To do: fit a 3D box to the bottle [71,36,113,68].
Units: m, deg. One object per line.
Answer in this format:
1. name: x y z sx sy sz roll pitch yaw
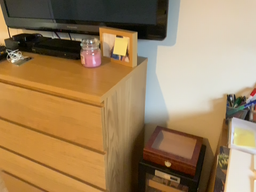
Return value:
1. bottle: -0.170 -0.220 1.030 0.120 0.100 0.160 15 31 25
